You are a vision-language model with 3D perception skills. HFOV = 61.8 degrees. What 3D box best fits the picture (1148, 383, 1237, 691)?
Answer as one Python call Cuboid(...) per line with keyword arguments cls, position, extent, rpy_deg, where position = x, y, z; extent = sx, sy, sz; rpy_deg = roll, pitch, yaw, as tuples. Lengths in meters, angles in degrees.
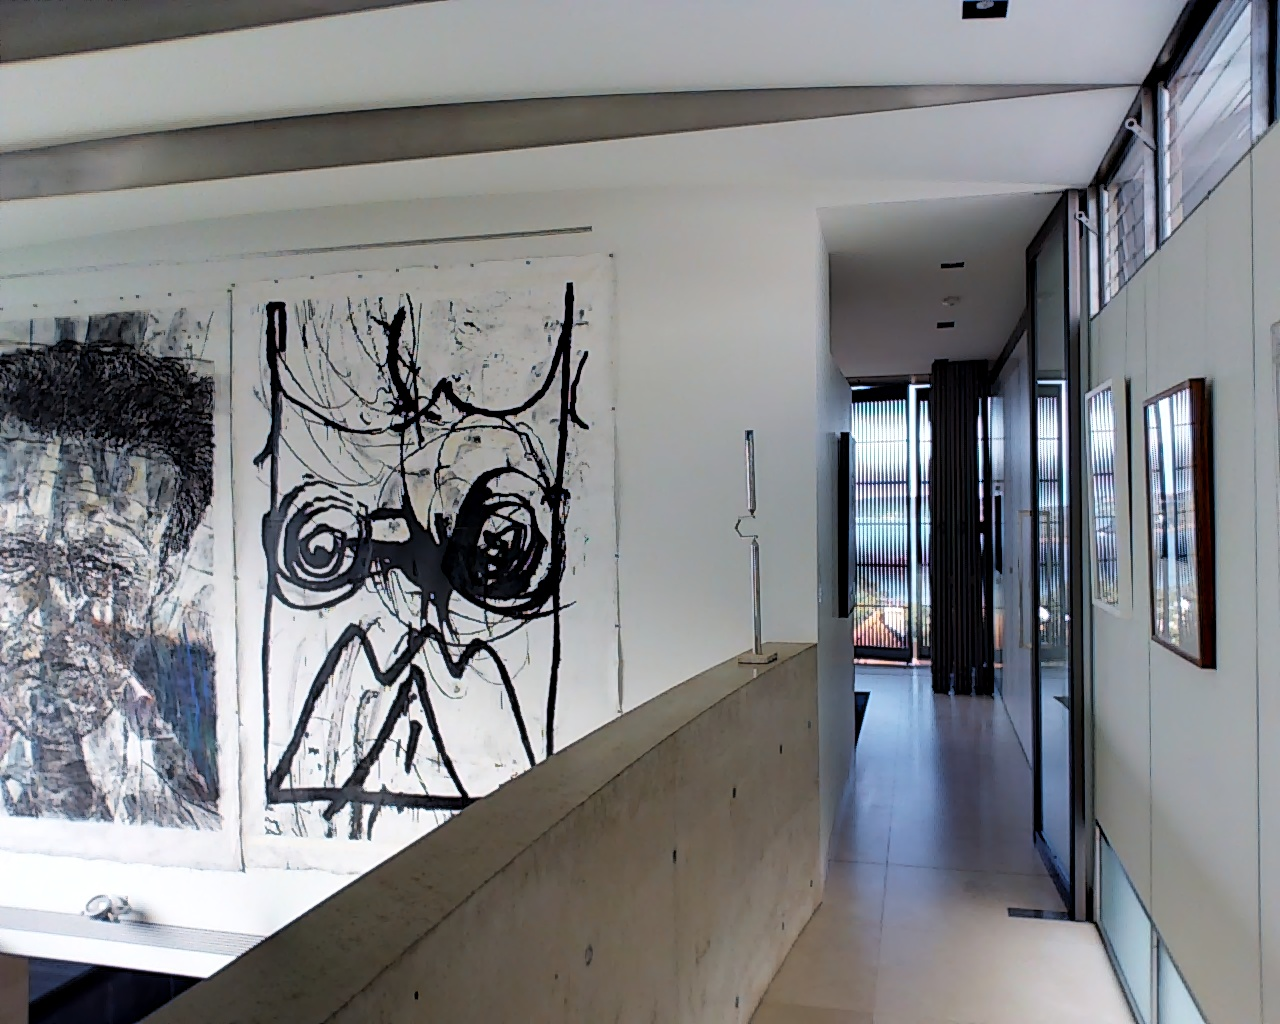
Cuboid(cls="picture", position=(1.280, 0.050, 2.500), extent=(0.040, 0.630, 0.630), rpy_deg=(-1, 0, 14))
